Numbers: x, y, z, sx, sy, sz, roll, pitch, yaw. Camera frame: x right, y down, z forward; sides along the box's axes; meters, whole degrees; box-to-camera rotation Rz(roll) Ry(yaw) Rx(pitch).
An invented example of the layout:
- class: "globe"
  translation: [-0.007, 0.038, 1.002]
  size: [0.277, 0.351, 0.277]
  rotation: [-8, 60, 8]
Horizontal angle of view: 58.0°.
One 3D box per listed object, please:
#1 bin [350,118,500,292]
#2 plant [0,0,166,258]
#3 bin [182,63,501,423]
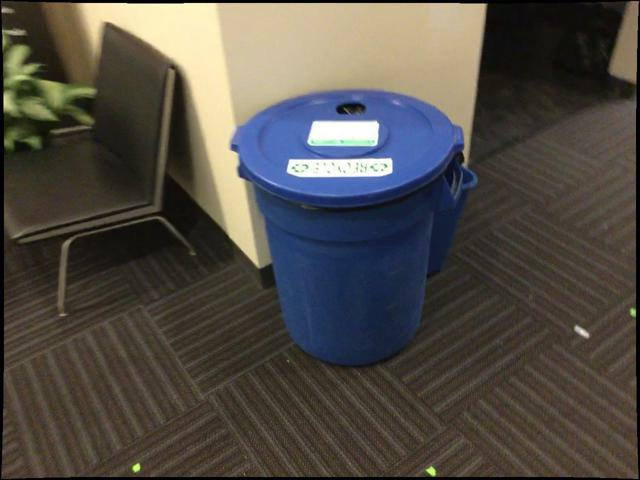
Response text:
- class: "bin"
  translation: [0.349, -0.130, 2.000]
  size: [0.300, 0.391, 0.380]
  rotation: [-27, 44, -23]
- class: "plant"
  translation: [-1.317, -0.481, 2.450]
  size: [0.919, 0.641, 0.810]
  rotation: [-27, 44, -23]
- class: "bin"
  translation: [0.060, -0.020, 1.690]
  size: [0.569, 0.681, 0.600]
  rotation: [-27, 44, -23]
